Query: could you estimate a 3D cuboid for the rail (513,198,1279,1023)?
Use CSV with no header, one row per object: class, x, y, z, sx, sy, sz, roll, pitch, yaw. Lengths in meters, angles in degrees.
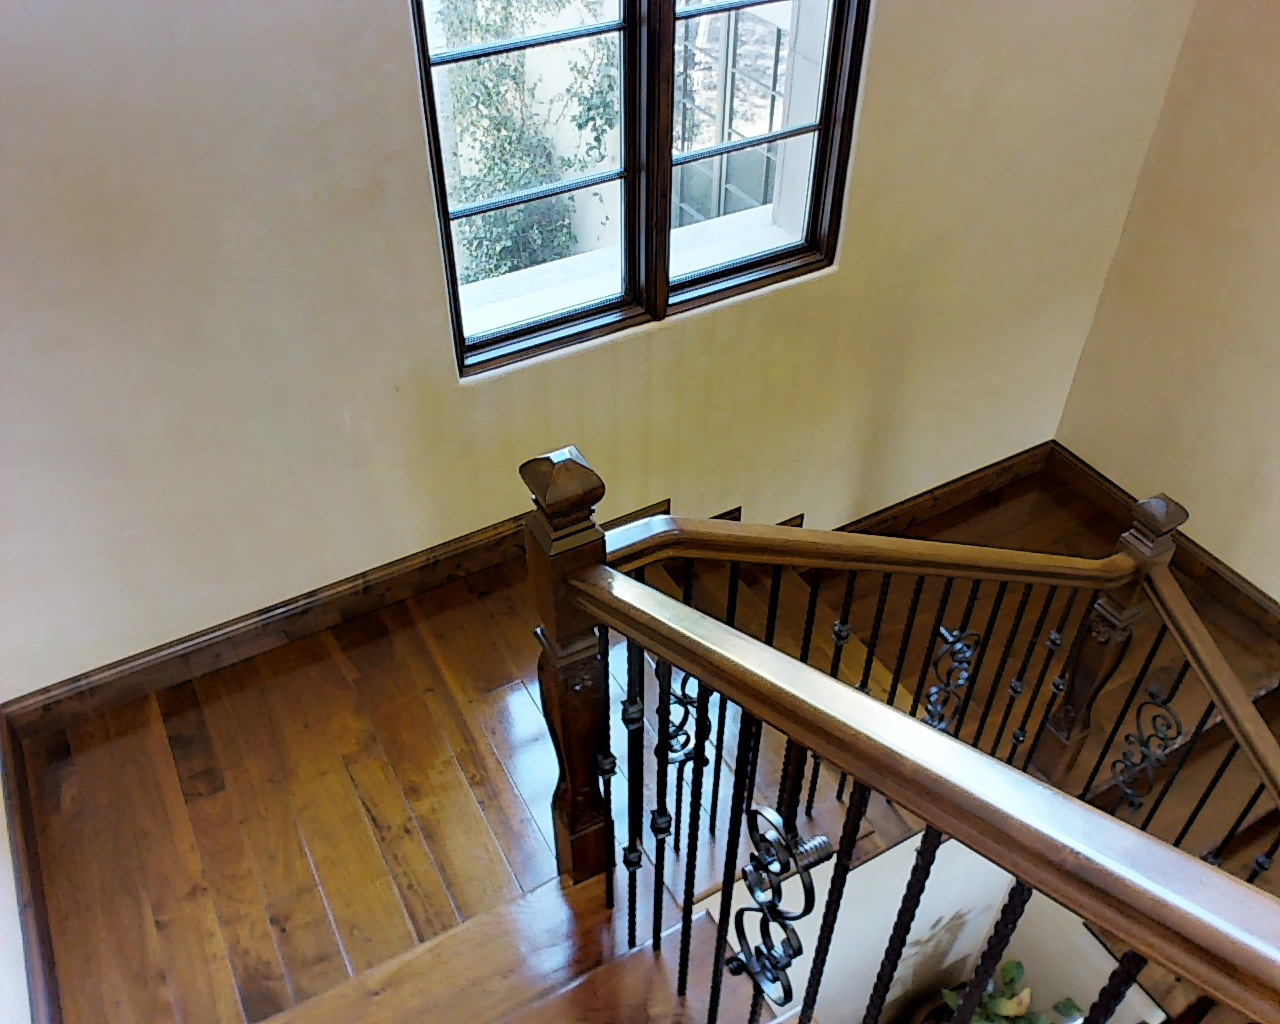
rail,0.620,0.360,2.540,1.840,1.940,0.060,-20,45,-22
